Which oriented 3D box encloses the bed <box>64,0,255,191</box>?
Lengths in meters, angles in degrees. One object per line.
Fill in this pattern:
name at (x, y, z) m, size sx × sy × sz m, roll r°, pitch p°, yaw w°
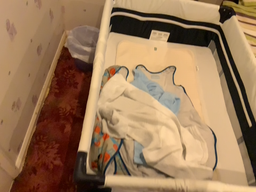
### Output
bed at (0.160, 0.000, 1.160) m, size 0.740 × 0.740 × 1.120 m, roll 6°, pitch 54°, yaw -8°
